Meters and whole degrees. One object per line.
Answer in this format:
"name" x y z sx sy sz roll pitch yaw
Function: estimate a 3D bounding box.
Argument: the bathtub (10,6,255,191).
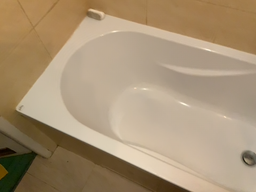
"bathtub" 0.270 0.140 1.120 1.380 0.560 0.670 22 64 16
